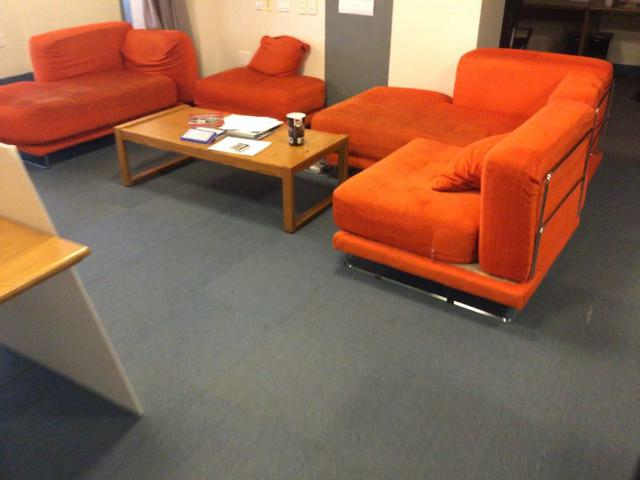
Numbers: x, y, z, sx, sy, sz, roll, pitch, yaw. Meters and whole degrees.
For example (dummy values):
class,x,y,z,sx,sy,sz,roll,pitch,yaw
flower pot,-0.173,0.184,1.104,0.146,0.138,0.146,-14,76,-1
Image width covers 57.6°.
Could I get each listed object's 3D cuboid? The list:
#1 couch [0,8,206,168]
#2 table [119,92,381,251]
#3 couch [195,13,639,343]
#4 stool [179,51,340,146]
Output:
class,x,y,z,sx,sy,sz,roll,pitch,yaw
couch,-1.700,-1.160,4.100,0.950,0.660,1.550,19,33,26
table,-0.410,-0.460,3.390,1.320,0.430,0.690,19,33,25
couch,0.630,-0.580,3.080,1.580,0.810,1.960,19,33,25
stool,-0.450,-1.090,4.370,0.970,0.400,0.660,19,33,25
